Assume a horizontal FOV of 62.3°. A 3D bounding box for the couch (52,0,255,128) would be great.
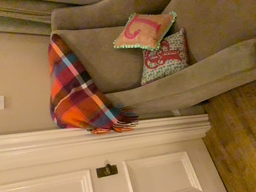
[{"bbox_3d":[0.180,-0.350,1.200,0.880,1.020,0.760,137,126,-58],"label":"couch"}]
